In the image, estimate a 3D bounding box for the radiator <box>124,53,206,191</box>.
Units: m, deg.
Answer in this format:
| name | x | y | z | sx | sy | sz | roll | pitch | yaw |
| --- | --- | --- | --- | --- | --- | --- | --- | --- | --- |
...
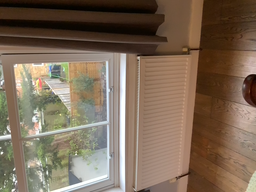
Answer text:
| name | x | y | z | sx | sy | sz | roll | pitch | yaw |
| --- | --- | --- | --- | --- | --- | --- | --- | --- | --- |
| radiator | 0.300 | 0.260 | 1.760 | 0.100 | 0.670 | 1.210 | 26 | 118 | 58 |
